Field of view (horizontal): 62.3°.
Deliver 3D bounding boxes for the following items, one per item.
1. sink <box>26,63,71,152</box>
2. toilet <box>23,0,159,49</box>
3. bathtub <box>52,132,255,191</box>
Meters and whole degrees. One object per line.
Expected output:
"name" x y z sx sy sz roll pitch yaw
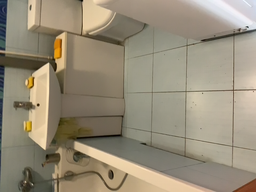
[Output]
"sink" -0.630 0.080 1.650 0.450 0.160 0.600 0 88 49
"toilet" -0.300 -0.710 1.750 0.700 0.860 0.360 0 88 49
"bathtub" 0.060 0.710 1.470 1.580 0.580 0.690 -1 88 49
